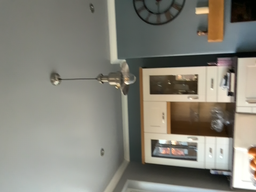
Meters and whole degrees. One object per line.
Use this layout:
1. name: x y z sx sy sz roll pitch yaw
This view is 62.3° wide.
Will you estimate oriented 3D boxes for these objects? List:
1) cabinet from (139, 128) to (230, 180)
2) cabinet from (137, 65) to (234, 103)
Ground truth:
1. cabinet: 0.860 0.880 3.350 0.340 1.300 0.600 -30 -61 -72
2. cabinet: 0.820 -0.190 3.170 0.380 1.300 0.510 -30 -61 -72
